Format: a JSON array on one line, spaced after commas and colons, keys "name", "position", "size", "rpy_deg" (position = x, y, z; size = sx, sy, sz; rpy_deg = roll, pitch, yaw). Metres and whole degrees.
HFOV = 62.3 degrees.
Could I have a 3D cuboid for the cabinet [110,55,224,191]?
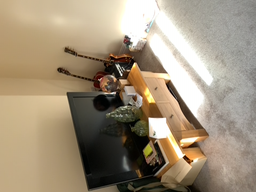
[{"name": "cabinet", "position": [0.290, 0.230, 2.300], "size": [0.610, 0.420, 1.360], "rpy_deg": [-63, 40, 39]}]
